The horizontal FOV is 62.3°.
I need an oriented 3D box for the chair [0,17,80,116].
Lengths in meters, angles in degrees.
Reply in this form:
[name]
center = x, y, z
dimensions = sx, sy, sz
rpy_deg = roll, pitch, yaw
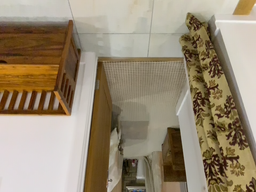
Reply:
[chair]
center = -0.910, -0.220, 1.600
dimensions = 0.940, 0.650, 0.360
rpy_deg = -1, 150, 1
